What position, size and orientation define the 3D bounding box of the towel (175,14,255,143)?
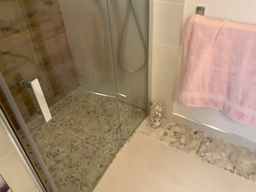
[{"bbox_3d":[0.670,-0.110,1.420,0.590,0.720,0.210,21,44,28],"label":"towel"}]
